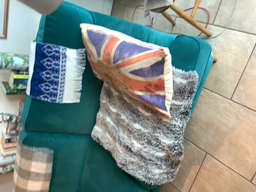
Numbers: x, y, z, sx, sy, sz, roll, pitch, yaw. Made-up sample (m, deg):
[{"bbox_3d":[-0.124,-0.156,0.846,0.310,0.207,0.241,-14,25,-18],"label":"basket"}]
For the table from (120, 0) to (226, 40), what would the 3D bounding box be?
[{"bbox_3d":[0.300,-0.630,1.300,0.400,0.470,0.400,36,118,38],"label":"table"}]
